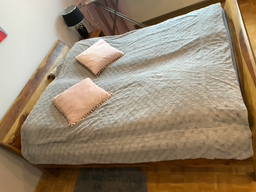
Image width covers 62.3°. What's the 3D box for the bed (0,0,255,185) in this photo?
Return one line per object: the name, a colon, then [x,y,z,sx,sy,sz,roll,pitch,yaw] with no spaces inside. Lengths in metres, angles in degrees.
bed: [0.020,-0.050,2.340,2.350,0.650,1.720,-10,44,26]
